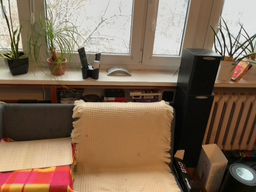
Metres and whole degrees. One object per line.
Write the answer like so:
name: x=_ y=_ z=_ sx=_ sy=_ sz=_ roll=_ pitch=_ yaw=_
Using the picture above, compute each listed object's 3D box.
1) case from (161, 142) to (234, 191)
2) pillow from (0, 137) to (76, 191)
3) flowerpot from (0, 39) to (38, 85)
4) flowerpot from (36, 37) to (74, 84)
case: x=0.450 y=0.620 z=1.520 sx=0.270 sy=0.350 sz=0.470 roll=1 pitch=25 yaw=-8
pillow: x=-0.550 y=0.450 z=1.090 sx=0.510 sy=0.190 sz=0.520 roll=1 pitch=25 yaw=-9
flowerpot: x=-0.780 y=-0.240 z=1.480 sx=0.210 sy=0.260 sz=0.200 roll=1 pitch=25 yaw=-8
flowerpot: x=-0.520 y=-0.260 z=1.550 sx=0.220 sy=0.290 sz=0.190 roll=1 pitch=25 yaw=-8
